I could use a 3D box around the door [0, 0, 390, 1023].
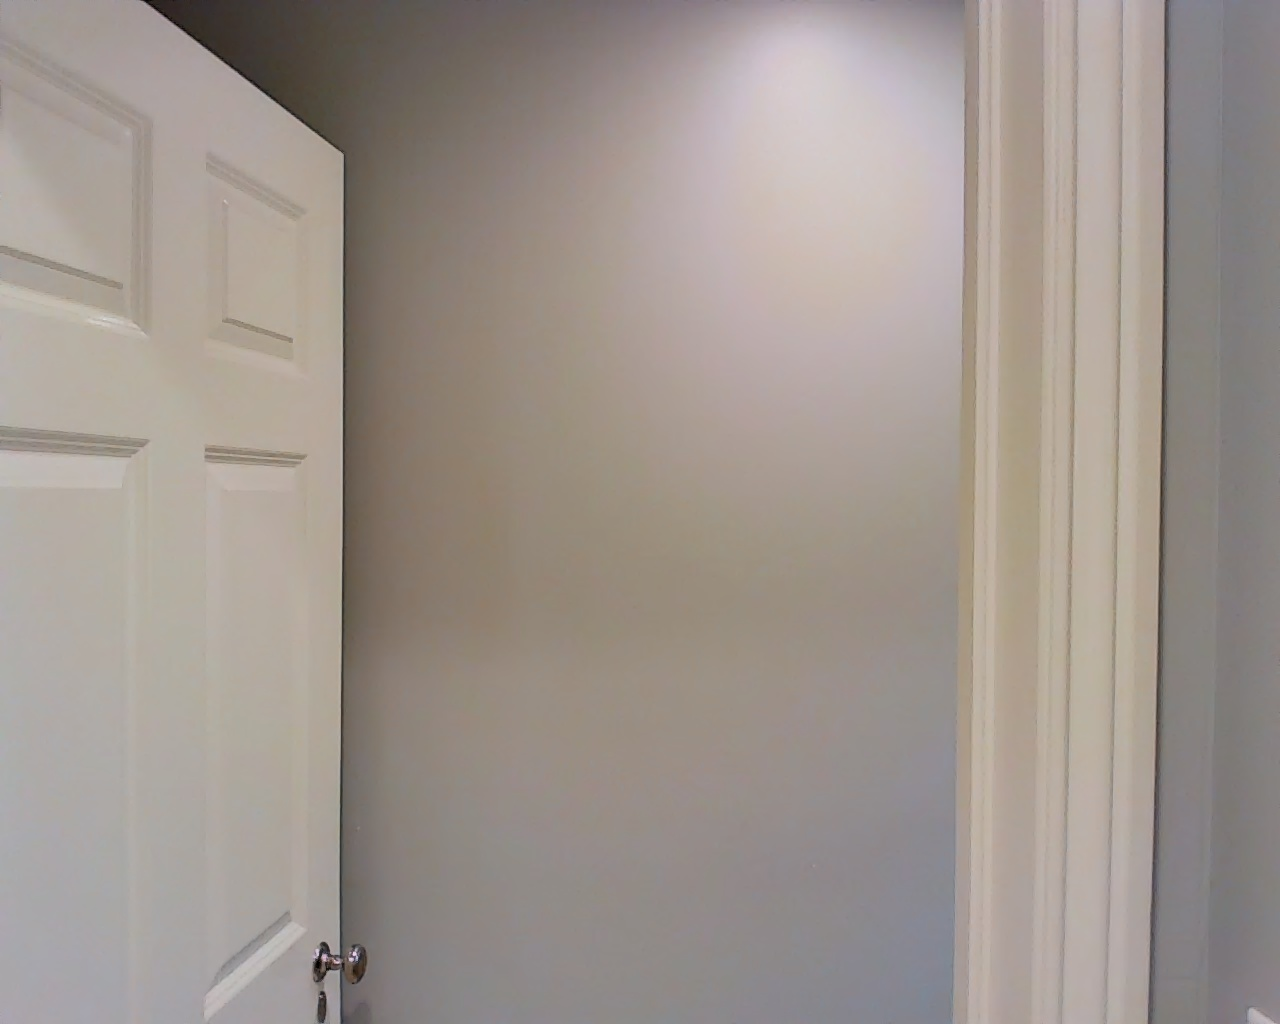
[{"bbox_3d":[-0.460,0.490,1.120,0.040,2.090,0.900,1,1,8],"label":"door"}]
